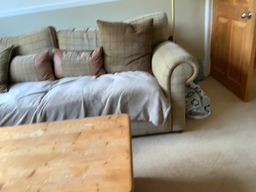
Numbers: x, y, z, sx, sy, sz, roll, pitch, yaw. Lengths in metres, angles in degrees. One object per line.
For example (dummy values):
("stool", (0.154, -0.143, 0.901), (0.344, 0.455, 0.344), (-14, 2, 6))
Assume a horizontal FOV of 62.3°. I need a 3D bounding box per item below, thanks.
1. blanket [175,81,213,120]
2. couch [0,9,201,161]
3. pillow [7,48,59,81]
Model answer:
("blanket", (0.630, 0.030, 2.090), (0.210, 0.200, 0.400), (-9, 27, -4))
("couch", (-0.670, -0.190, 2.110), (2.340, 0.900, 1.200), (-8, 27, 0))
("pillow", (-0.900, -0.300, 2.030), (0.370, 0.250, 0.180), (-6, 9, 5))
